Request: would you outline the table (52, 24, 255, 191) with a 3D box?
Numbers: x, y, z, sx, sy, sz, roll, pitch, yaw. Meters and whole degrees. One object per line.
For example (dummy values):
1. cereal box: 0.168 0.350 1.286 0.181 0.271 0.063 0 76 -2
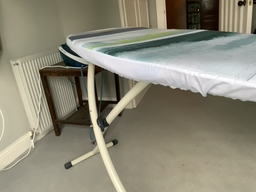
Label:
1. table: 0.120 0.200 0.970 0.450 0.940 1.340 -17 23 -24
